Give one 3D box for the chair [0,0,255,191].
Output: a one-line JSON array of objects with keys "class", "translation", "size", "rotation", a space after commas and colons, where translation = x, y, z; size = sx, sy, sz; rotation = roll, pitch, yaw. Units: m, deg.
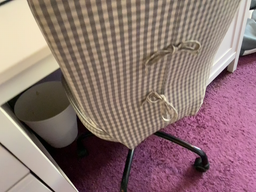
[{"class": "chair", "translation": [0.010, -0.090, 0.720], "size": [0.660, 0.930, 0.590], "rotation": [-26, 47, -11]}]
